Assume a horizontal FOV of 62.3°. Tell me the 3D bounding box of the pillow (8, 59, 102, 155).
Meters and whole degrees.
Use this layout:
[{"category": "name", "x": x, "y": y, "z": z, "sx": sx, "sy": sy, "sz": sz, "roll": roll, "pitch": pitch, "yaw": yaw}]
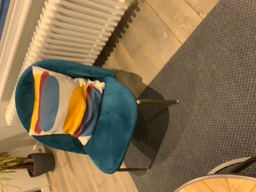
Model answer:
[{"category": "pillow", "x": -0.430, "y": 0.090, "z": 1.400, "sx": 0.170, "sy": 0.390, "sz": 0.510, "roll": 18, "pitch": 150, "yaw": 28}]
